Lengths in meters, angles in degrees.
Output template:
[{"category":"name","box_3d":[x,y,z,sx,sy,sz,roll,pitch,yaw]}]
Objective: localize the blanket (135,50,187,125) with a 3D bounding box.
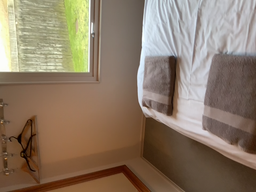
[{"category":"blanket","box_3d":[0.240,-0.090,1.700,0.150,0.520,0.390,-3,-166,-30]}]

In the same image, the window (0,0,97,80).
[{"category":"window","box_3d":[-0.840,-0.720,2.210,1.020,1.090,0.140,-3,-166,-30]}]

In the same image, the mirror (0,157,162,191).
[{"category":"mirror","box_3d":[-0.580,1.030,2.100,1.830,0.070,0.930,-3,-164,-30]}]

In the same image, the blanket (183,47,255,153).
[{"category":"blanket","box_3d":[0.510,-0.010,1.160,0.080,0.490,0.410,-3,-166,-31]}]
